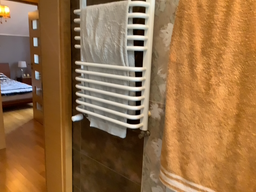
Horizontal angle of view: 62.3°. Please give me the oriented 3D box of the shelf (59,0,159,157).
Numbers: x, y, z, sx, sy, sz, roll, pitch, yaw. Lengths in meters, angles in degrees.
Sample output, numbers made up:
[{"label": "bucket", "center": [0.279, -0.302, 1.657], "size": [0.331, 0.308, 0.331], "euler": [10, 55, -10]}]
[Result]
[{"label": "shelf", "center": [-0.160, -0.310, 1.260], "size": [0.190, 1.120, 0.670], "euler": [-9, 18, -43]}]
